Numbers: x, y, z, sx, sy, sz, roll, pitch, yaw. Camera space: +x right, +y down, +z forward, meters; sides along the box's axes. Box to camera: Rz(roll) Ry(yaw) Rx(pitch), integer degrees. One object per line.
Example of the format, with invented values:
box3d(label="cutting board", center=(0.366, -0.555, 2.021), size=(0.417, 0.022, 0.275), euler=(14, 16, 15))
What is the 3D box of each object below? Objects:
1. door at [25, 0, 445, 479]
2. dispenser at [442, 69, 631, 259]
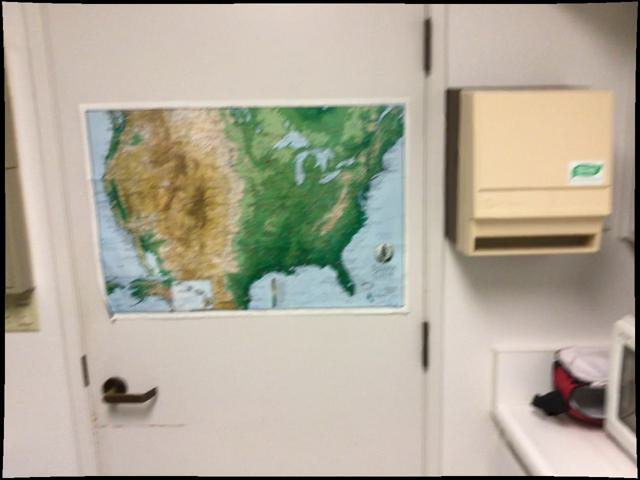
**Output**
box3d(label="door", center=(-0.170, 0.170, 1.500), size=(0.949, 1.662, 0.090), euler=(-2, 11, -1))
box3d(label="dispenser", center=(0.480, -0.180, 1.350), size=(0.330, 0.390, 0.250), euler=(-2, 11, -1))
